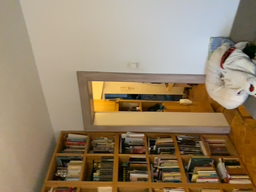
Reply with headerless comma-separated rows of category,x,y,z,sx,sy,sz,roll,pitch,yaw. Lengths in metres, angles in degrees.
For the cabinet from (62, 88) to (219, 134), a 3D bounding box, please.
cabinet,0.190,0.250,3.630,0.640,2.420,0.400,-90,2,-53
